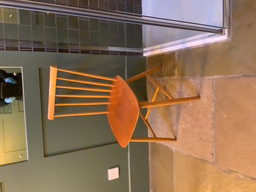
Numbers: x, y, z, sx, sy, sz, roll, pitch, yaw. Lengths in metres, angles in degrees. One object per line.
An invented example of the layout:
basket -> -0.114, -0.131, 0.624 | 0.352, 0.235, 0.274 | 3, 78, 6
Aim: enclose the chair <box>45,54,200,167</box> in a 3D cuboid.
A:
chair -> -0.060, 0.040, 1.380 | 0.490, 0.800, 0.410 | 53, 137, 42
